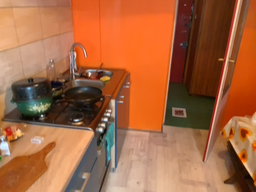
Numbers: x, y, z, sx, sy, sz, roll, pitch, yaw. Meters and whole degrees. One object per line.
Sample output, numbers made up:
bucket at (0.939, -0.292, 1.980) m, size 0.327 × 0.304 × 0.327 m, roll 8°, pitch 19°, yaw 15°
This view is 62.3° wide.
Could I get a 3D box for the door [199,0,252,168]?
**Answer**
door at (1.020, -0.220, 2.190) m, size 0.070 × 1.880 × 0.730 m, roll 16°, pitch 27°, yaw 28°
